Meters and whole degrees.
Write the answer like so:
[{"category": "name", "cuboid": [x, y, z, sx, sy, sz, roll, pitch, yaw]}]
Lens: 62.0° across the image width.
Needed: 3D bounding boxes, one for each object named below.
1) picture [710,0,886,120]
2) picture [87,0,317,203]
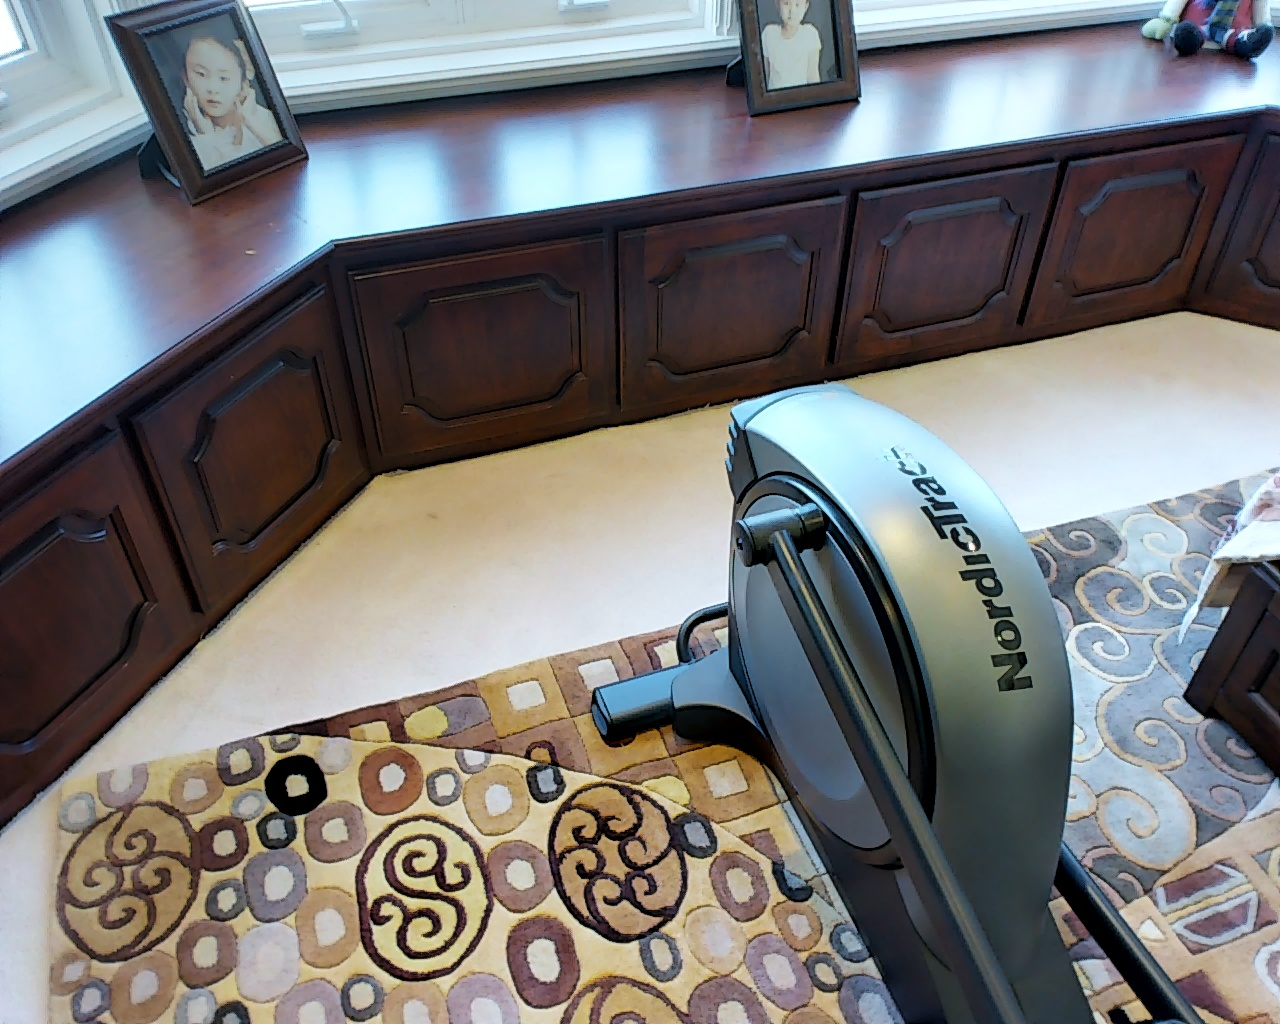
[{"category": "picture", "cuboid": [0.350, -1.080, 2.390, 0.320, 0.290, 0.200, -13, 43, -15]}, {"category": "picture", "cuboid": [-0.810, -0.810, 2.010, 0.120, 0.370, 0.340, 9, 31, 24]}]
